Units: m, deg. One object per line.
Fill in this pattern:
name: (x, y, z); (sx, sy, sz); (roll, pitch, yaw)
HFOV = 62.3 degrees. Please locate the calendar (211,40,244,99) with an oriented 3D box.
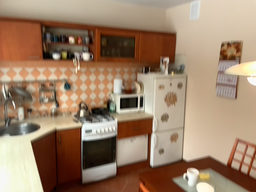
calendar: (1.250, -0.340, 2.690); (0.060, 0.690, 0.370); (-3, 11, -24)

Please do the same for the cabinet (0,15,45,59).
cabinet: (-1.400, -0.670, 2.490); (0.730, 0.450, 0.430); (-4, 11, -27)

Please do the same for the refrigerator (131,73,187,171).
refrigerator: (0.490, 0.370, 3.560); (0.610, 1.470, 0.620); (-4, 11, -27)
